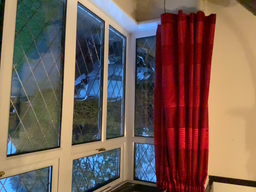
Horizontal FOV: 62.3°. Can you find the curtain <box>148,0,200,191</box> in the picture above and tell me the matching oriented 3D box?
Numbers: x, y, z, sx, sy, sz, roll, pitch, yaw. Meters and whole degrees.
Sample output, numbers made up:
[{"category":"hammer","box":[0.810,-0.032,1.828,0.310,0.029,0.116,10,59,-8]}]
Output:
[{"category":"curtain","box":[0.430,0.070,1.920,0.380,1.730,0.400,-1,175,23]}]
